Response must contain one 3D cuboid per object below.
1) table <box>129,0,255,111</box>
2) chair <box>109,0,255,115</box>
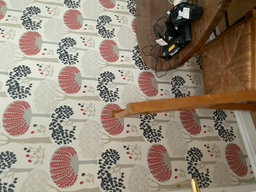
[{"bbox_3d":[0.580,-0.700,1.220,1.180,0.780,1.170,119,150,-57],"label":"table"},{"bbox_3d":[0.450,-0.160,1.150,0.460,1.020,0.510,166,106,-73],"label":"chair"}]
